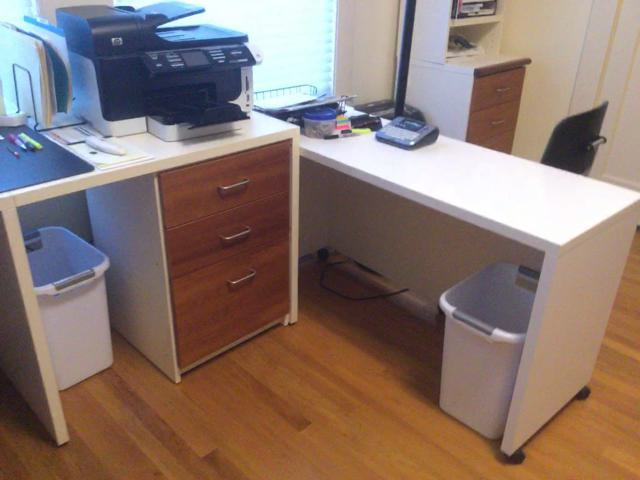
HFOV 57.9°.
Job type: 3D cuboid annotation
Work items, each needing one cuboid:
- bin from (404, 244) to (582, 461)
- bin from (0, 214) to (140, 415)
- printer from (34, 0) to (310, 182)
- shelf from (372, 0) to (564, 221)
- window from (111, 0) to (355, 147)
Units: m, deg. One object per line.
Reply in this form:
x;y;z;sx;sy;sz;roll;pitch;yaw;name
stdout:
0.490;0.300;1.660;0.270;0.410;0.400;25;34;38;bin
-0.810;0.200;1.750;0.440;0.380;0.290;25;34;38;bin
-0.420;-0.480;1.690;0.570;0.370;0.520;25;34;38;printer
0.750;-1.250;2.690;0.550;2.160;0.670;25;34;38;shelf
-0.240;-1.250;1.940;0.100;1.710;1.040;25;34;38;window
